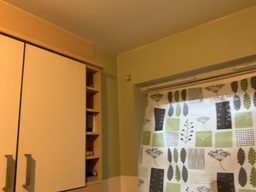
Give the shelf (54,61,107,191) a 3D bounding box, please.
[{"bbox_3d":[-0.320,0.200,1.450,0.290,0.800,0.190,-12,-17,35],"label":"shelf"}]
